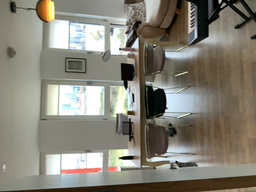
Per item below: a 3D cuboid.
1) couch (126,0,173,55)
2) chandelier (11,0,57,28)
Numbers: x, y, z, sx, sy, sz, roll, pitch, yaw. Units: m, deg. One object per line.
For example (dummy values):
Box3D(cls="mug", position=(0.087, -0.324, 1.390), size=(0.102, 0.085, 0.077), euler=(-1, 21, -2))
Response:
Box3D(cls="couch", position=(0.400, -2.140, 4.520), size=(1.120, 0.650, 2.230), euler=(154, -63, -77))
Box3D(cls="chandelier", position=(-1.170, -1.100, 2.700), size=(0.330, 0.470, 0.270), euler=(134, -44, -71))
